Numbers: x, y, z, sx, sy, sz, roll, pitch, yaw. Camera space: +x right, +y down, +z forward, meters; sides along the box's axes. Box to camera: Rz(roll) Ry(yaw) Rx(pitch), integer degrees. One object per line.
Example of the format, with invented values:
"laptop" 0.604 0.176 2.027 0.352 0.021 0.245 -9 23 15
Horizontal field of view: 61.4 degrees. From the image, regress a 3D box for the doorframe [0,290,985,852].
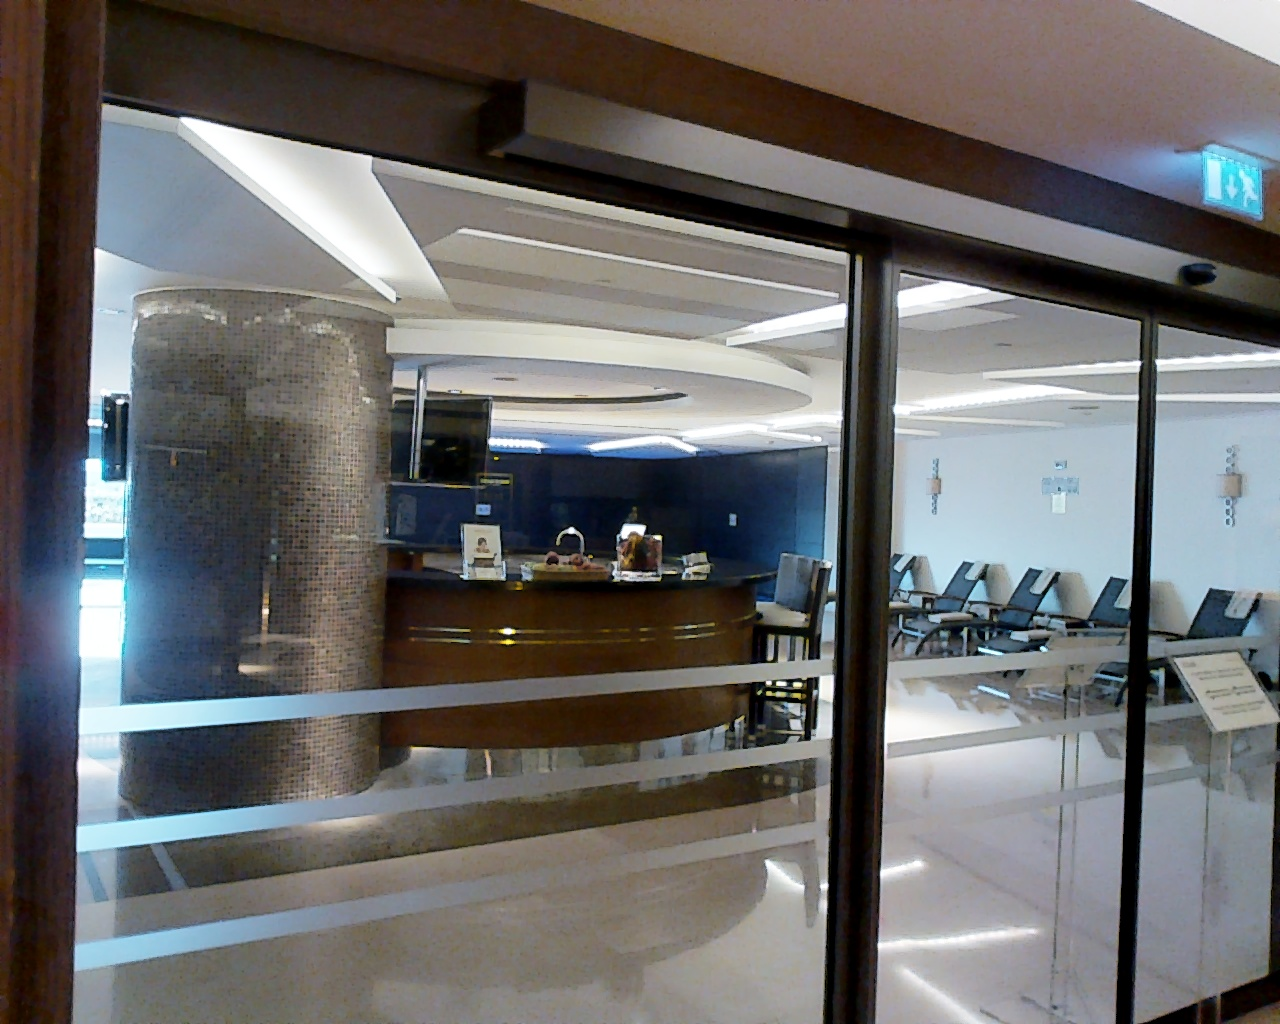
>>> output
"doorframe" -1.050 0.320 5.210 5.659 2.501 0.200 2 0 -10
